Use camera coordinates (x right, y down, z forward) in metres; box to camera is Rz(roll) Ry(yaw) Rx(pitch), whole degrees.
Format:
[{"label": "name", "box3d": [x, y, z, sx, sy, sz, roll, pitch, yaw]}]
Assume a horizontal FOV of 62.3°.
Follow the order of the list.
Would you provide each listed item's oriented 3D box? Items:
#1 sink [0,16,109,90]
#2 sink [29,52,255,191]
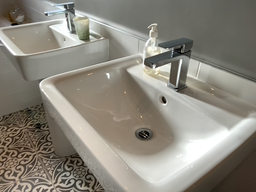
[{"label": "sink", "box3d": [-0.440, -0.280, 1.150, 0.430, 0.150, 0.570, -21, 39, -32]}, {"label": "sink", "box3d": [0.030, 0.070, 0.640, 0.440, 0.160, 0.560, -21, 39, -32]}]
